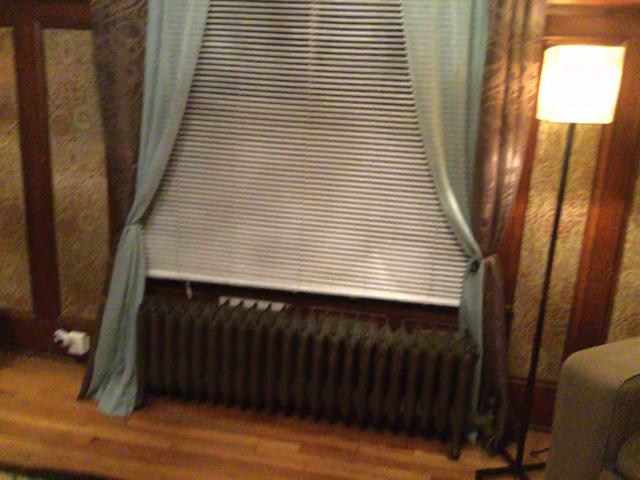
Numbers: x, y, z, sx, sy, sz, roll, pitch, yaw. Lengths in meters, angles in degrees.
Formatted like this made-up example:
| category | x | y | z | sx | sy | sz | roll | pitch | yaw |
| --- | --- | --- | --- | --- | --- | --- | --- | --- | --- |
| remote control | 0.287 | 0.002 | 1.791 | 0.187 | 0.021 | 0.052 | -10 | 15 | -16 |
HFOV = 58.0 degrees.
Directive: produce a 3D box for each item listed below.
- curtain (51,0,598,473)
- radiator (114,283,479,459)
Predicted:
| category | x | y | z | sx | sy | sz | roll | pitch | yaw |
| --- | --- | --- | --- | --- | --- | --- | --- | --- | --- |
| curtain | -0.060 | -0.290 | 2.230 | 1.890 | 2.120 | 0.320 | 5 | 11 | 9 |
| radiator | -0.110 | 0.510 | 2.400 | 1.420 | 0.460 | 0.320 | 5 | 11 | 9 |
